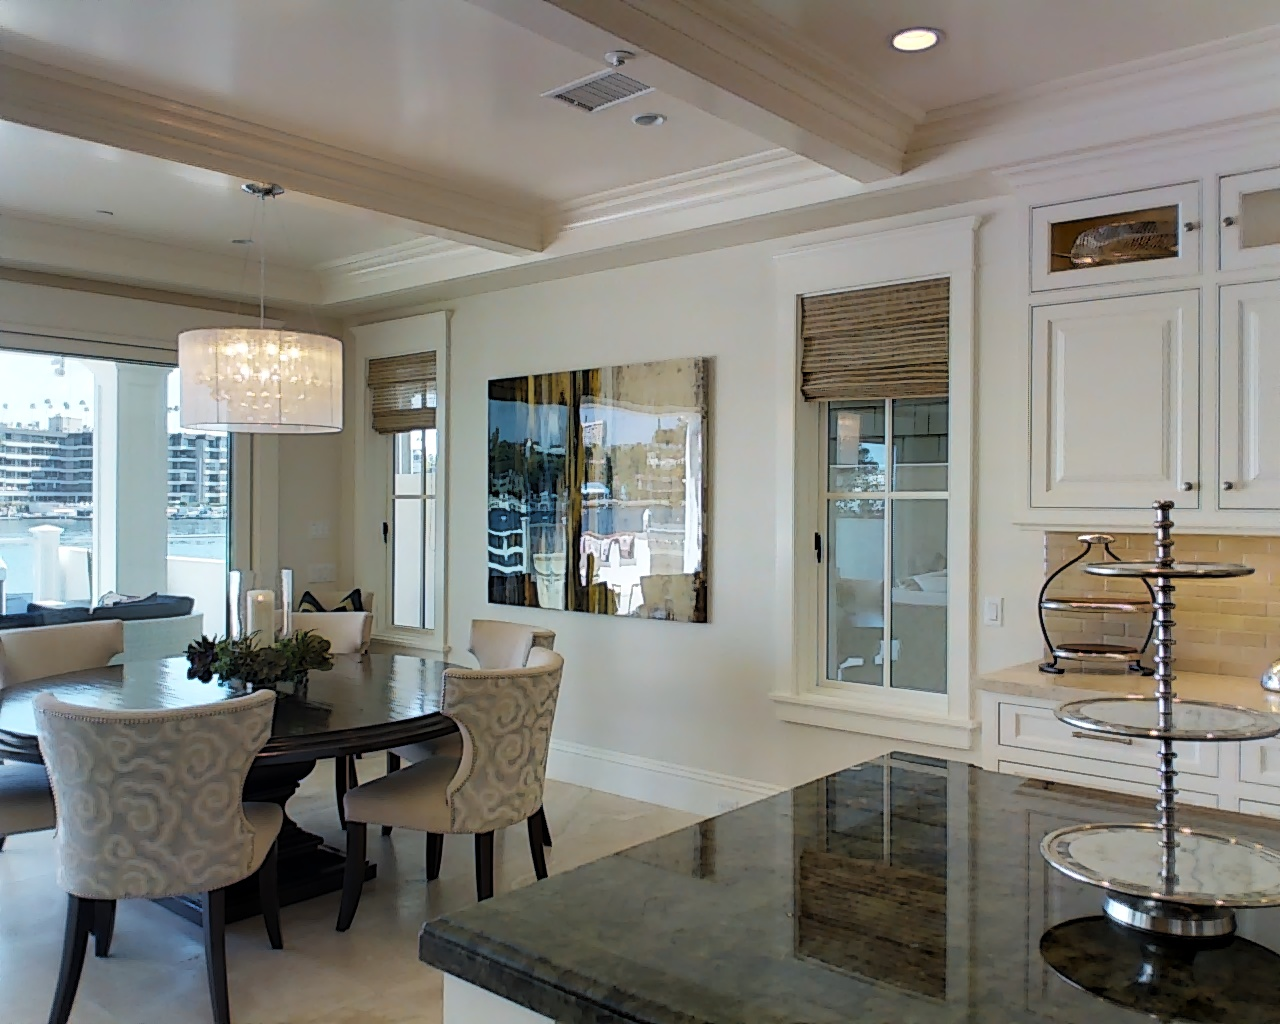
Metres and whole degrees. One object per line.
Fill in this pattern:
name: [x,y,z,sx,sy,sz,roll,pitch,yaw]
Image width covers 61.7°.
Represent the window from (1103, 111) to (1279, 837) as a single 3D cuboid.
window: [1.929,-0.110,3.600,0.390,2.111,0.950,1,1,41]
